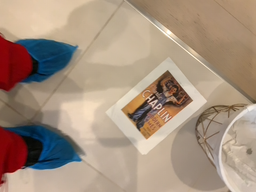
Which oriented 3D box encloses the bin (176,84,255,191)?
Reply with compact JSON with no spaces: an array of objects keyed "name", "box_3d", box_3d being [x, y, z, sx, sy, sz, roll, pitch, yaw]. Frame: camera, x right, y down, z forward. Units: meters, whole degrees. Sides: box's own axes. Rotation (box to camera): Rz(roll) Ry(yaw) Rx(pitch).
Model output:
[{"name":"bin","box_3d":[0.320,0.120,0.640,0.190,0.260,0.250,26,92,-4]}]
